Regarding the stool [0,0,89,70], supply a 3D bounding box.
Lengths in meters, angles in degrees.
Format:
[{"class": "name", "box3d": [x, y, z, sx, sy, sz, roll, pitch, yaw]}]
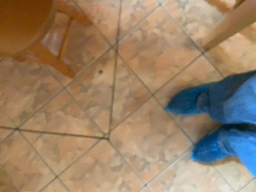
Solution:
[{"class": "stool", "box3d": [-0.360, -0.290, 0.810, 0.290, 0.460, 0.290, 8, 91, 1]}]
